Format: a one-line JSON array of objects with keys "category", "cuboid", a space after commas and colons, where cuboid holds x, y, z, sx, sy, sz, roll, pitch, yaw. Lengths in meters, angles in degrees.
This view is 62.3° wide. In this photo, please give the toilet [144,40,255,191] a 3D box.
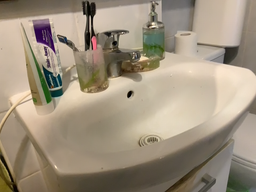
[{"category": "toilet", "cuboid": [0.460, 0.180, 1.030, 0.390, 0.740, 0.670, -22, 31, -30]}]
